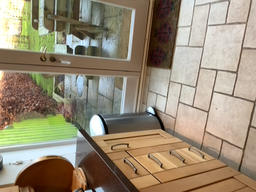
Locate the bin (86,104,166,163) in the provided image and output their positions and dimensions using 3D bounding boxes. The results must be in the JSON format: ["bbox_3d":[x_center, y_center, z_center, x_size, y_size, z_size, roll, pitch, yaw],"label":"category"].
[{"bbox_3d":[-0.030,0.340,2.150,0.440,0.630,0.370,30,116,55],"label":"bin"}]

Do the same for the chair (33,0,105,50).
[{"bbox_3d":[-0.890,-1.300,3.230,0.470,0.940,1.060,25,112,56],"label":"chair"}]
